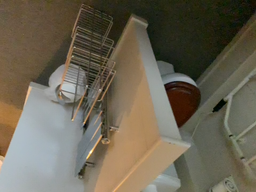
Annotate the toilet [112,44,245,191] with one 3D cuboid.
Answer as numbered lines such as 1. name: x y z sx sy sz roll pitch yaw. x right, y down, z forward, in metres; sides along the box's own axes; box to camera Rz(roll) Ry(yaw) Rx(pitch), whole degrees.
1. toilet: 0.250 0.180 1.570 0.470 0.770 0.700 16 129 -21
